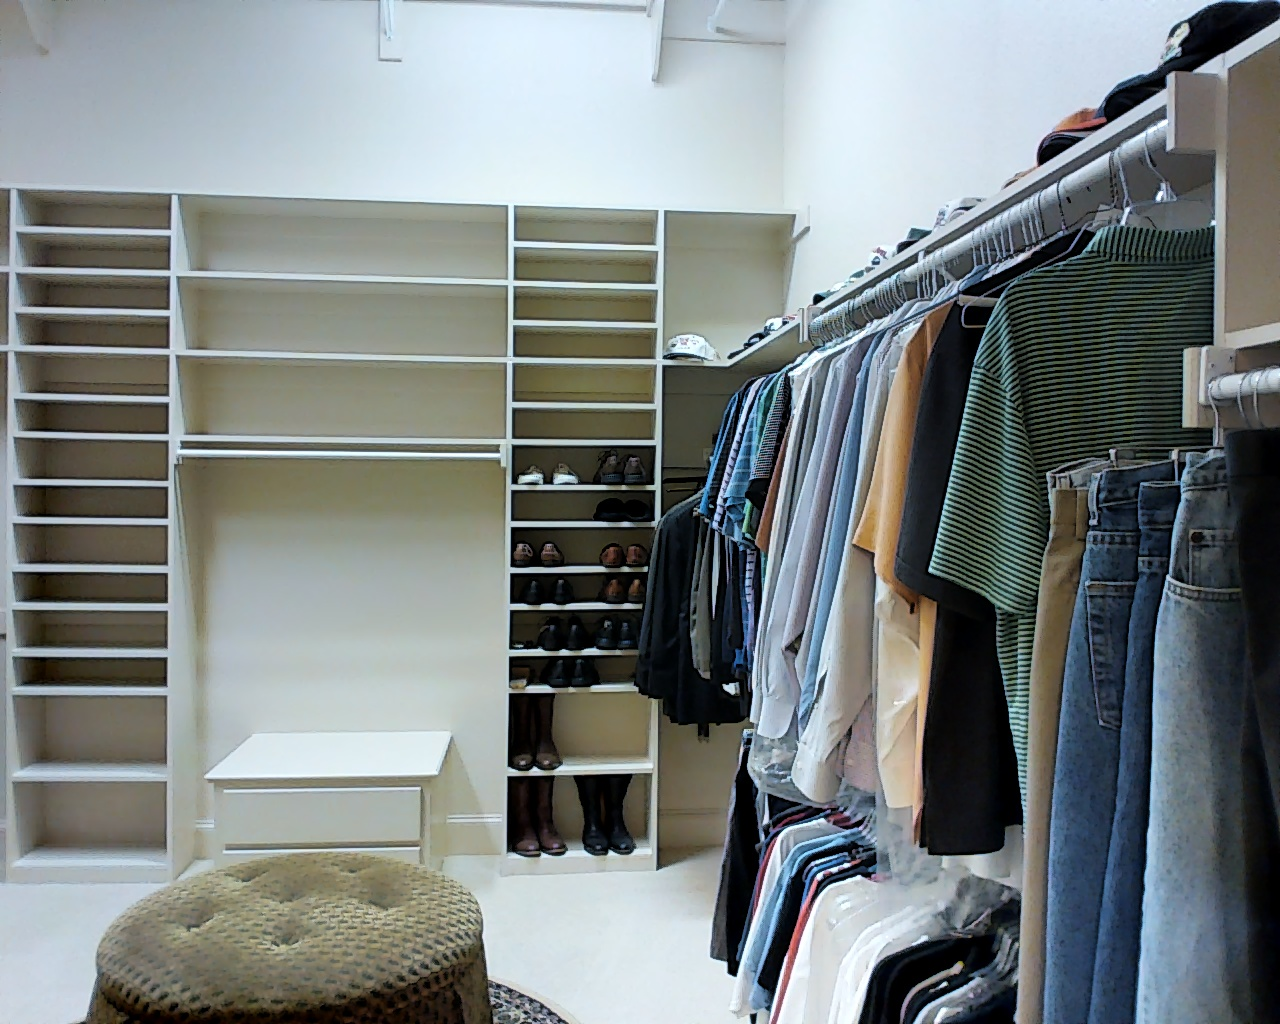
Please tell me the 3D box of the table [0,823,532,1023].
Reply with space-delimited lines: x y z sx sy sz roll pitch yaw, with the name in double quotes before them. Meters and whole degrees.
"table" -0.830 1.220 2.750 1.090 0.520 1.040 0 0 -5
